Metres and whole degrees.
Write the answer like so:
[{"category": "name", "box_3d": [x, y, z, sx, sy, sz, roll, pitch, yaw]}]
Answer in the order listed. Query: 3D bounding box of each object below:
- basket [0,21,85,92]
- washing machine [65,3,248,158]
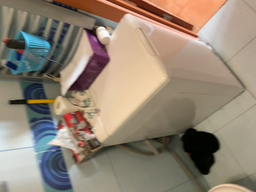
[{"category": "basket", "box_3d": [-0.410, -0.160, 0.990, 0.250, 0.300, 0.150, -47, 58, 34]}, {"category": "washing machine", "box_3d": [0.190, -0.040, 1.320, 0.620, 0.850, 0.450, -47, 57, 34]}]
